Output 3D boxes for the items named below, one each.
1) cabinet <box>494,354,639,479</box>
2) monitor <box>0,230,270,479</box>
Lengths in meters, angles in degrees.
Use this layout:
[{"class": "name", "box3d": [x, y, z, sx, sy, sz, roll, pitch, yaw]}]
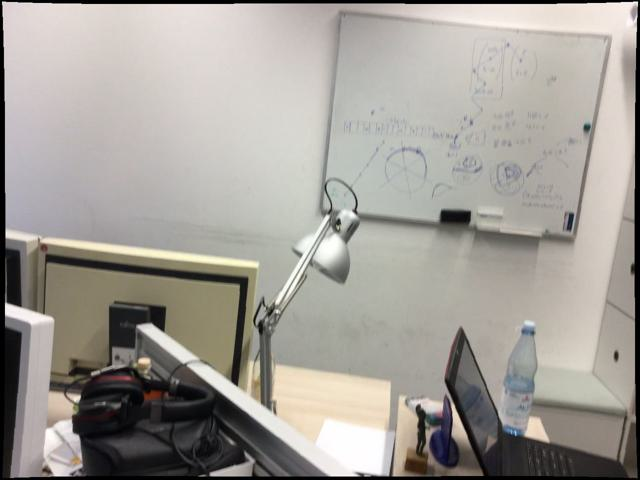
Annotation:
[{"class": "cabinet", "box3d": [1.119, 0.871, 2.570, 0.529, 0.541, 0.420, 6, 12, 6]}, {"class": "monitor", "box3d": [-0.539, 0.280, 1.460, 0.749, 0.490, 0.310, 6, 12, 6]}]
